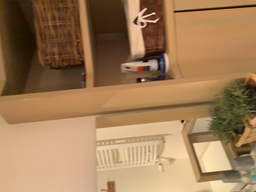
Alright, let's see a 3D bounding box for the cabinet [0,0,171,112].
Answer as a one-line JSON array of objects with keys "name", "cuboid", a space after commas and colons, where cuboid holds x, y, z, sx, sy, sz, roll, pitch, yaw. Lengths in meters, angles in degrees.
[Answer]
[{"name": "cabinet", "cuboid": [-0.210, -0.280, 0.850, 0.380, 0.650, 0.560, -107, 11, -79]}]
